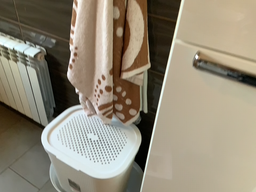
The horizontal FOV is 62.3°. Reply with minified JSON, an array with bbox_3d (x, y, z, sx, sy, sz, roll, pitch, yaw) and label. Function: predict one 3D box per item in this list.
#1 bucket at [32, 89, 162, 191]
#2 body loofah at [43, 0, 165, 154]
[{"bbox_3d":[-0.150,0.400,1.210,0.440,0.640,0.430,24,43,21],"label":"bucket"},{"bbox_3d":[-0.090,-0.240,0.810,0.350,1.000,0.230,24,43,21],"label":"body loofah"}]
